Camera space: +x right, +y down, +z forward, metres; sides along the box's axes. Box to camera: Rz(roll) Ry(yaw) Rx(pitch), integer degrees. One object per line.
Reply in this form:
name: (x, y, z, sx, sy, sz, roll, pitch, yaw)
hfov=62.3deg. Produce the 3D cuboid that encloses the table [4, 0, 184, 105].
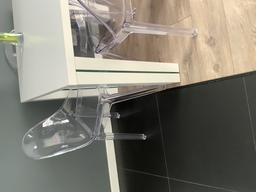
table: (-0.280, -0.420, 1.460, 0.900, 0.780, 0.820, -11, 85, 49)
